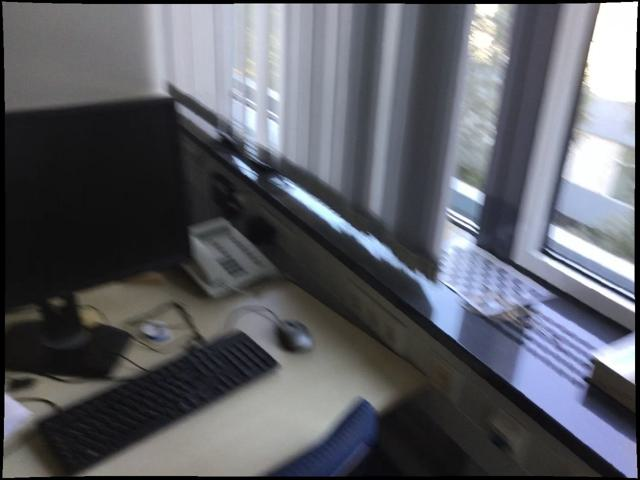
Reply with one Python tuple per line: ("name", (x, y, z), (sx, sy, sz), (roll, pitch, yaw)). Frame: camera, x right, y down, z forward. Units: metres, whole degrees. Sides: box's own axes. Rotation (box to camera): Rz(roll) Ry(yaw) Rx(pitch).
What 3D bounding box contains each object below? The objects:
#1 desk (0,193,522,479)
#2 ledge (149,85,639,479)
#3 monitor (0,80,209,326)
("desk", (-0.499, 0.280, 1.100), (1.419, 0.150, 0.940), (-13, 32, -24))
("ledge", (-0.080, 0.070, 1.720), (0.190, 0.400, 2.690), (-13, 32, -24))
("monitor", (-0.549, -0.060, 1.080), (0.630, 0.380, 0.160), (-13, 32, -24))
